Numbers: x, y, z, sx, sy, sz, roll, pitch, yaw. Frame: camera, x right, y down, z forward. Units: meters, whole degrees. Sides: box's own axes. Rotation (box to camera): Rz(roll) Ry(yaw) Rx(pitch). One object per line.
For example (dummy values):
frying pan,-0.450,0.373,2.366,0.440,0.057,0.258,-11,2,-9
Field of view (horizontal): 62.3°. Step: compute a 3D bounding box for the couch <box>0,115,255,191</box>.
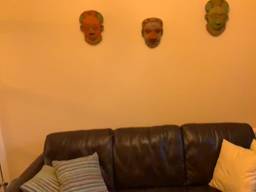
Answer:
couch,0.190,0.770,1.750,2.100,0.840,1.050,-3,11,2
